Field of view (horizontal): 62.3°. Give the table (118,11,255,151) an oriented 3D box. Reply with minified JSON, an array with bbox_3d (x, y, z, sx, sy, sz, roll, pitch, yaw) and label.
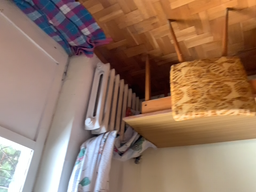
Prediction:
[{"bbox_3d":[0.630,-0.040,1.680,1.190,0.650,0.670,-14,145,26],"label":"table"}]
